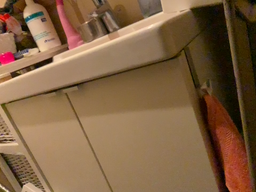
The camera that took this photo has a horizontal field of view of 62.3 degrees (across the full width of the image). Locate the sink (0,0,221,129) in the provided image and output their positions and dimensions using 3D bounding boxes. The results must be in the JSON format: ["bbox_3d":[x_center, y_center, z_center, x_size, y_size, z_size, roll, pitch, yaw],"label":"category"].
[{"bbox_3d":[-0.070,-0.100,0.660,0.590,0.170,0.420,-10,19,34],"label":"sink"}]
